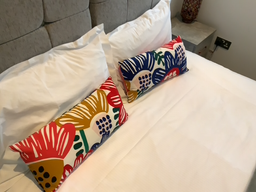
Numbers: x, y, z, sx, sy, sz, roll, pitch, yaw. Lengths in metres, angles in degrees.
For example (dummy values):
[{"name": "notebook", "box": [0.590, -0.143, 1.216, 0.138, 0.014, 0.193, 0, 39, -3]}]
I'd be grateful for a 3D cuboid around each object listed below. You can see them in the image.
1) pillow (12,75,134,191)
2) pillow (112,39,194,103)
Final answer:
[{"name": "pillow", "box": [-0.220, 0.140, 0.950, 0.140, 0.240, 0.540, 44, 46, 4]}, {"name": "pillow", "box": [0.160, -0.170, 1.340, 0.470, 0.240, 0.170, -25, 64, -35]}]
